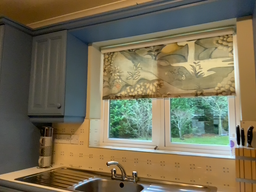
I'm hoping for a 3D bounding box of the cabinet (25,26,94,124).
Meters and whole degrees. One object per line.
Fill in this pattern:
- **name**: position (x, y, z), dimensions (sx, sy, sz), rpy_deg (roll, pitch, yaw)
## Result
- **cabinet**: position (-0.610, -0.150, 1.970), dimensions (0.400, 0.800, 0.420), rpy_deg (-2, -7, 25)
